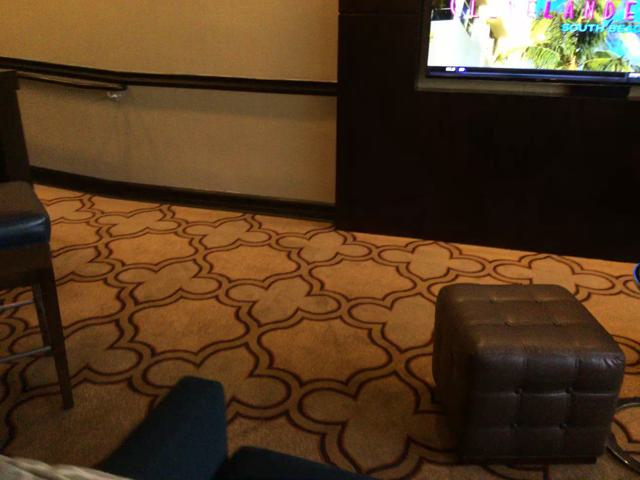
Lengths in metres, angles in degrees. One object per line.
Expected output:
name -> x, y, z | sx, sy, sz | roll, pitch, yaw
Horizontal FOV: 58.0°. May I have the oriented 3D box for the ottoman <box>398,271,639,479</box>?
ottoman -> 0.630, 0.440, 2.000 | 0.590, 0.450, 0.600 | -1, 21, -3
